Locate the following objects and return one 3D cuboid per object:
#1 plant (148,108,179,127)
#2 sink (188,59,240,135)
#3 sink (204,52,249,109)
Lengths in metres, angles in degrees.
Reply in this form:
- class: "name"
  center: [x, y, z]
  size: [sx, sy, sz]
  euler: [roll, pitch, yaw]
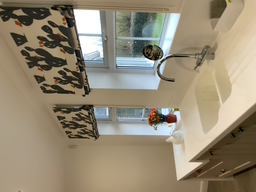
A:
- class: "plant"
  center: [0.460, 0.290, 2.830]
  size: [0.270, 0.350, 0.160]
  euler: [96, 174, -60]
- class: "sink"
  center: [0.660, 0.010, 1.700]
  size: [0.320, 0.180, 0.510]
  euler: [96, 174, -60]
- class: "sink"
  center: [0.650, -0.100, 1.440]
  size: [0.230, 0.130, 0.310]
  euler: [96, 174, -60]
